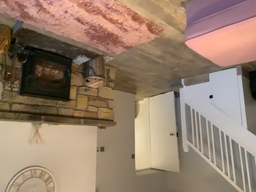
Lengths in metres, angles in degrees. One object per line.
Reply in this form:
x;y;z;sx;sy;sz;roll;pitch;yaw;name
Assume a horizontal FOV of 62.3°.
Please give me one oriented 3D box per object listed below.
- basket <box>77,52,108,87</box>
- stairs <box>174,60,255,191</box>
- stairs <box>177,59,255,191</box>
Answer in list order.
-0.500;-0.360;3.030;0.300;0.380;0.300;-10;165;41;basket
2.180;0.670;3.460;2.680;2.370;0.750;-10;165;41;stairs
1.940;0.640;3.200;2.420;2.420;0.160;-10;165;40;stairs
